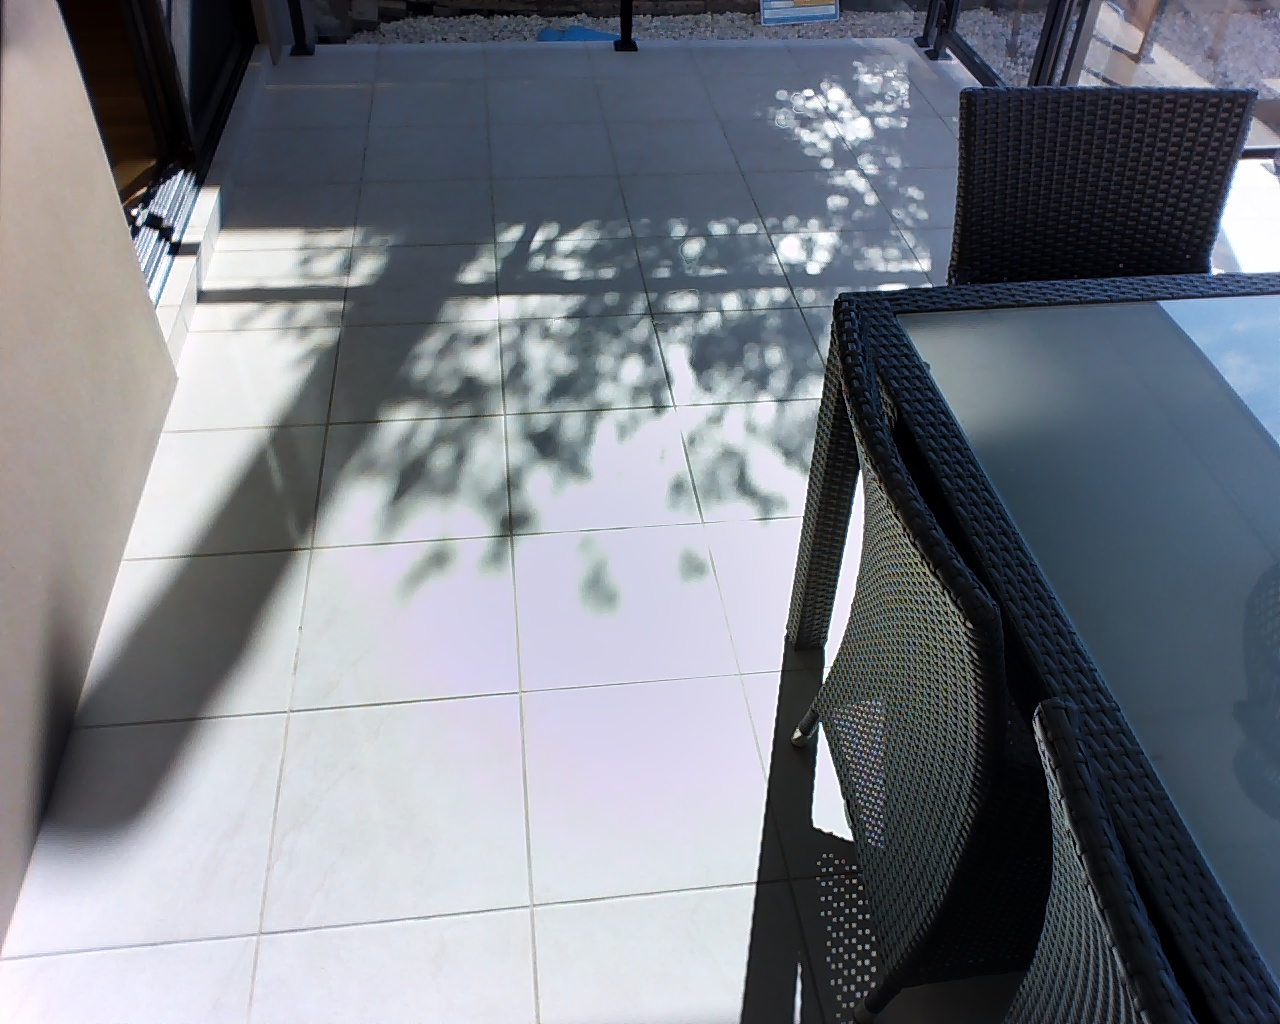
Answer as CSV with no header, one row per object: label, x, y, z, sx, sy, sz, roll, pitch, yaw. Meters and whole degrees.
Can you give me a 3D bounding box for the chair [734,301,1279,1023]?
chair,0.500,0.270,1.350,0.610,0.880,0.540,-3,43,-5
